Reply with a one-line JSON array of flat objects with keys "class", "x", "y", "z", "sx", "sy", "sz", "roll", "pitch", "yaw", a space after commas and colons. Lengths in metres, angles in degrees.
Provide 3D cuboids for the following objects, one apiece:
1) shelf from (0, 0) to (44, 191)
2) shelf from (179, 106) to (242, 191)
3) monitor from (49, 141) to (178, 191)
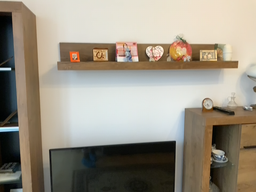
[{"class": "shelf", "x": -0.800, "y": 0.350, "z": 1.490, "sx": 0.280, "sy": 1.900, "sz": 0.390, "roll": -1, "pitch": 8, "yaw": -10}, {"class": "shelf", "x": 0.660, "y": 0.690, "z": 1.810, "sx": 0.290, "sy": 1.140, "sz": 0.390, "roll": -1, "pitch": 8, "yaw": -10}, {"class": "monitor", "x": -0.090, "y": 0.680, "z": 1.680, "sx": 0.980, "sy": 0.580, "sz": 0.060, "roll": -1, "pitch": 11, "yaw": -12}]
